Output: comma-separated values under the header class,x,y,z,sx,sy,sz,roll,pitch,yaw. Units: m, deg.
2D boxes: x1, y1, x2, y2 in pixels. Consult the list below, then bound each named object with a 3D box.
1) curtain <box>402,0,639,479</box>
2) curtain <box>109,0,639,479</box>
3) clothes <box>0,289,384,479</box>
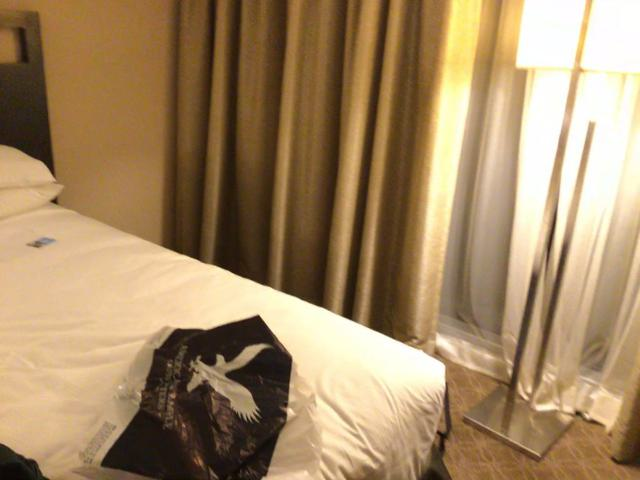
class,x,y,z,sx,sy,sz,roll,pitch,yaw
curtain,0.830,-0.140,2.110,0.890,1.740,0.340,15,22,37
curtain,0.560,-0.240,1.960,3.470,1.840,0.610,15,22,37
clothes,-0.230,0.300,1.050,0.530,0.180,0.430,15,22,37
